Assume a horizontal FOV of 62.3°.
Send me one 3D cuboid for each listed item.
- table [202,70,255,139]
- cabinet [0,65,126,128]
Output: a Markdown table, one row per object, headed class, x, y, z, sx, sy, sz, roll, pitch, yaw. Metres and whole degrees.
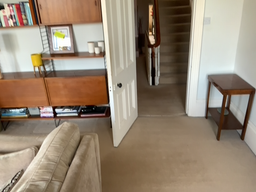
| class | x | y | z | sx | sy | sz | roll | pitch | yaw |
| --- | --- | --- | --- | --- | --- | --- | --- | --- | --- |
| table | 1.260 | 0.090 | 2.740 | 0.360 | 0.670 | 0.640 | 0 | 24 | 4 |
| cabinet | -0.940 | 0.010 | 3.010 | 1.770 | 0.790 | 0.370 | 0 | 24 | 4 |
